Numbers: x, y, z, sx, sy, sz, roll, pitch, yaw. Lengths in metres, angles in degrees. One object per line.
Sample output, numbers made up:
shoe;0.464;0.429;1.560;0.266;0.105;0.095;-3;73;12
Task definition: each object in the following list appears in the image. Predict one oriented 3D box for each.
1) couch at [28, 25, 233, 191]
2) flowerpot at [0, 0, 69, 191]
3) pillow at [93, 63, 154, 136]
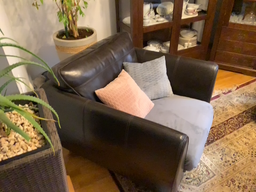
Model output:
couch;0.090;0.100;1.630;1.000;0.850;0.950;18;41;23
flowerpot;-0.470;0.240;0.850;0.320;1.170;0.450;-19;41;-22
pillow;-0.010;0.030;1.500;0.170;0.370;0.360;5;61;33
